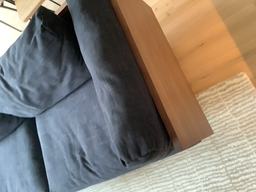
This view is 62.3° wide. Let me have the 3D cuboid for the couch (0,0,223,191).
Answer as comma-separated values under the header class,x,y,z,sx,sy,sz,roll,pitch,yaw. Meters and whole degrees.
class,x,y,z,sx,sy,sz,roll,pitch,yaw
couch,-0.610,0.260,1.430,2.020,0.760,0.870,-31,72,27
